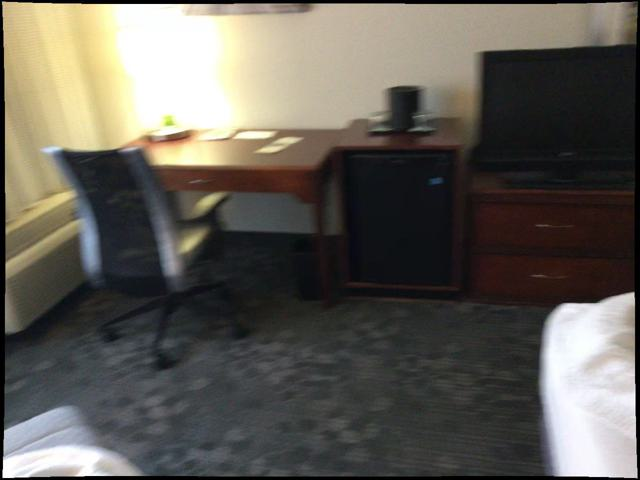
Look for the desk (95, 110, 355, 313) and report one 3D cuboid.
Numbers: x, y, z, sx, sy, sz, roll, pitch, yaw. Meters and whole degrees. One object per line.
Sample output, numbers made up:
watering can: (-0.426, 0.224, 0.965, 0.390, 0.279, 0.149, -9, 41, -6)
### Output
desk: (-0.430, -0.210, 3.160, 1.109, 0.771, 0.840, 5, 26, 12)
